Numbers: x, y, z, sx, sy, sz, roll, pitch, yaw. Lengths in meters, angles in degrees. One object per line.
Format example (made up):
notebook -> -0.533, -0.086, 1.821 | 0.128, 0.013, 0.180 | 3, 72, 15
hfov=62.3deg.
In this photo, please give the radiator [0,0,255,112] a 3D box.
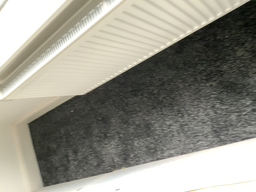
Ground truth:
radiator -> 0.090, -0.220, 0.800 | 1.550, 0.570, 0.080 | -23, 80, 34
